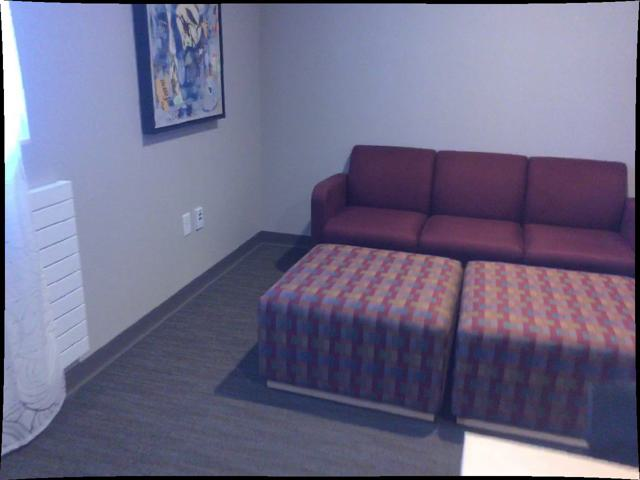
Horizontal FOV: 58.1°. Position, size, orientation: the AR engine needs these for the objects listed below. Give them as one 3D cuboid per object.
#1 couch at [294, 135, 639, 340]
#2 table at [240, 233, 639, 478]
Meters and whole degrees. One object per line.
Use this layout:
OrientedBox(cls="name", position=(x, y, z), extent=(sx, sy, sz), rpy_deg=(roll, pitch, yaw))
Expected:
OrientedBox(cls="couch", position=(0.859, -0.090, 3.370), extent=(1.867, 0.791, 0.770), rpy_deg=(7, 21, 14))
OrientedBox(cls="table", position=(0.549, 0.401, 2.480), extent=(1.558, 0.451, 0.840), rpy_deg=(7, 21, 14))
